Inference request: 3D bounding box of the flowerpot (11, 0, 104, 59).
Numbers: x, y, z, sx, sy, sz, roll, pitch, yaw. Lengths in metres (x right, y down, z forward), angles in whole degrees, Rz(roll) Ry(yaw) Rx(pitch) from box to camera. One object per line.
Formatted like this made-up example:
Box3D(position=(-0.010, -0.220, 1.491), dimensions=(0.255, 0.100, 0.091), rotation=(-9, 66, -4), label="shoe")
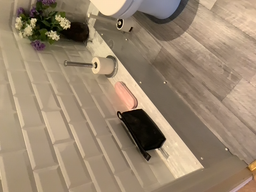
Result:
Box3D(position=(-0.480, -0.460, 1.460), dimensions=(0.260, 0.510, 0.270), rotation=(54, 130, 33), label="flowerpot")
